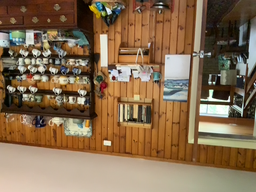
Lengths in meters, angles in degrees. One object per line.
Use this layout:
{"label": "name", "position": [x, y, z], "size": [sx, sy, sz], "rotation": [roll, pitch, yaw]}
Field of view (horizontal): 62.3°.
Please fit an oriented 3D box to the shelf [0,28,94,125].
{"label": "shelf", "position": [-1.180, -0.280, 2.910], "size": [1.390, 1.190, 0.310], "rotation": [3, -171, 12]}
